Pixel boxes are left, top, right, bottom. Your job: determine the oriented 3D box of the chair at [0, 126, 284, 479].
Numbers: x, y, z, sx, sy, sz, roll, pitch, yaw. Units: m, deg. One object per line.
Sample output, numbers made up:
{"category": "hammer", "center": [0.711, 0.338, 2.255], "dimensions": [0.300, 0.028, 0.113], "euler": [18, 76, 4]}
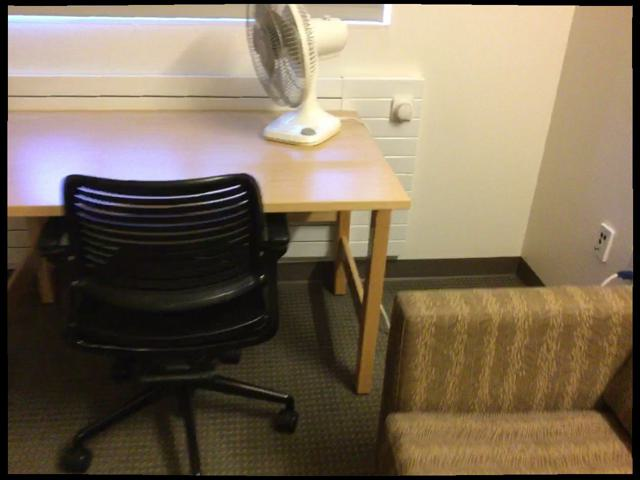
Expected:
{"category": "chair", "center": [-0.409, 0.180, 1.610], "dimensions": [0.609, 0.881, 0.460], "euler": [-1, 28, -4]}
